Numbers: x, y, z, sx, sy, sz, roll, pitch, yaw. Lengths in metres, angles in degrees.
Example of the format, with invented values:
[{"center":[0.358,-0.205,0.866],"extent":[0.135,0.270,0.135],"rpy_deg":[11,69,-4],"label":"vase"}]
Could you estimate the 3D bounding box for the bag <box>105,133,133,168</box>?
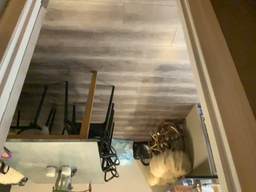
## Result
[{"center":[-0.160,0.900,3.490],"extent":[0.430,0.450,0.370],"rpy_deg":[2,147,-5],"label":"bag"}]
